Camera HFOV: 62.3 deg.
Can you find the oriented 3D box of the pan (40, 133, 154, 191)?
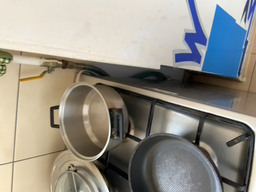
[{"bbox_3d":[-0.110,0.290,0.650,0.290,0.180,0.250,14,100,40],"label":"pan"}]

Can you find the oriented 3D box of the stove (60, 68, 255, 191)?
[{"bbox_3d":[0.050,0.220,0.640,0.610,0.160,0.520,16,101,39],"label":"stove"}]

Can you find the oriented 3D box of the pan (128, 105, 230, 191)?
[{"bbox_3d":[0.110,0.130,0.490,0.180,0.100,0.180,14,100,40],"label":"pan"}]
